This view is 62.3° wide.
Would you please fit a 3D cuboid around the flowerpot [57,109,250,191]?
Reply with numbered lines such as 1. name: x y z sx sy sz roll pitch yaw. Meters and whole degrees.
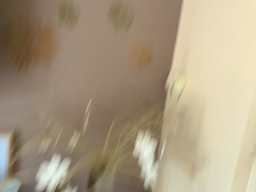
1. flowerpot: -0.040 0.720 0.980 0.550 1.180 0.620 3 11 -20
